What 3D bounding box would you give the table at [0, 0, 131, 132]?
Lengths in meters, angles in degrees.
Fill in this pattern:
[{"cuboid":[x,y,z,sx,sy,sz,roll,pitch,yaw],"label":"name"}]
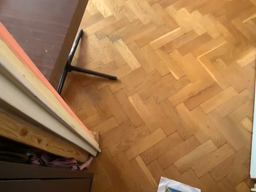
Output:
[{"cuboid":[-0.350,-0.300,1.020,0.590,0.650,0.710,12,70,4],"label":"table"}]
